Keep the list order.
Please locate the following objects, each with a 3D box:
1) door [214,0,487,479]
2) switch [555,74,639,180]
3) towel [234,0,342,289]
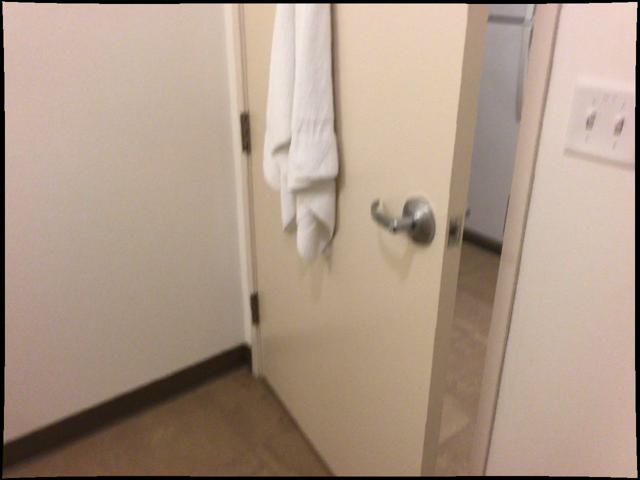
[{"bbox_3d":[-0.020,-0.180,1.410,0.120,1.924,0.980,-13,29,-24],"label":"door"},{"bbox_3d":[0.449,-0.180,0.910,0.010,0.140,0.140,-19,32,-33],"label":"switch"},{"bbox_3d":[-0.070,-0.331,1.300,0.120,0.872,0.230,-19,32,-33],"label":"towel"}]
